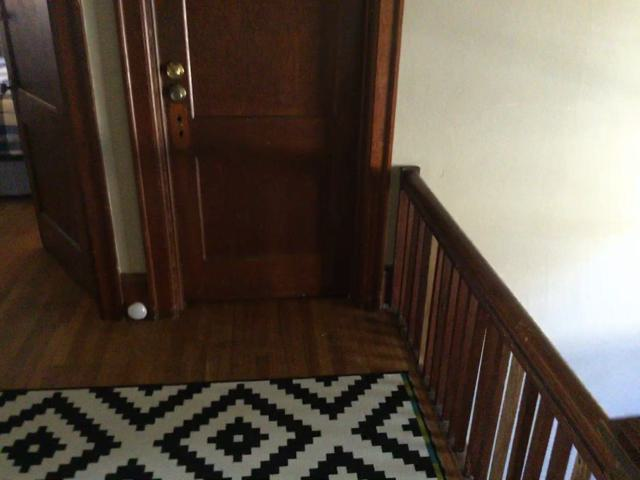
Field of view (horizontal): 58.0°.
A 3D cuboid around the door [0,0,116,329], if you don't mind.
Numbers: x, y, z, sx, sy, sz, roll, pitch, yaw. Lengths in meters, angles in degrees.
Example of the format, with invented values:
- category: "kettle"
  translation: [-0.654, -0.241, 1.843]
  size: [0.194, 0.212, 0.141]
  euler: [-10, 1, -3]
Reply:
- category: "door"
  translation: [-1.210, -0.720, 2.460]
  size: [0.300, 1.980, 0.870]
  euler: [-11, 26, -36]

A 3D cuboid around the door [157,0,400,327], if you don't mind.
- category: "door"
  translation: [-0.180, -0.590, 2.290]
  size: [0.860, 1.970, 0.250]
  euler: [2, 21, -8]

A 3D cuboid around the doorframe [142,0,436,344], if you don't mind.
- category: "doorframe"
  translation: [-0.140, -0.570, 2.240]
  size: [1.000, 2.020, 0.330]
  euler: [2, 21, -8]
